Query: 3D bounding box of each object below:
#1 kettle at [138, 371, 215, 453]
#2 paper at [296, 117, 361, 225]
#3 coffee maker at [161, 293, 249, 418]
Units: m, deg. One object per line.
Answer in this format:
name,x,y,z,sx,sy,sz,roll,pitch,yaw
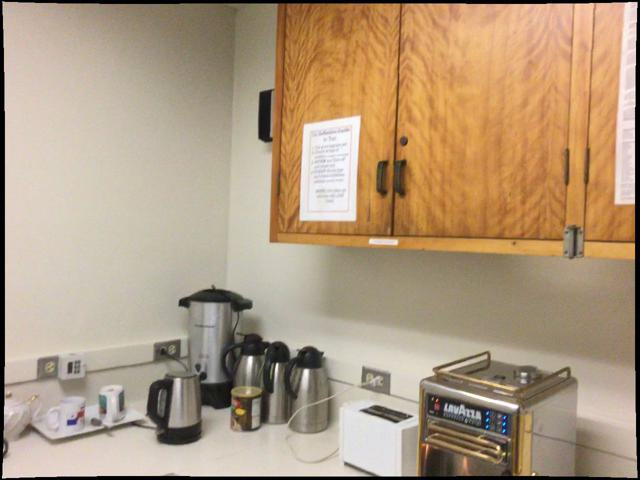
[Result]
kettle,-0.449,0.531,1.810,0.120,0.190,0.200,1,0,44
paper,0.020,-0.190,1.650,0.230,0.291,0.020,1,0,42
coffee maker,-0.439,0.421,2.190,0.300,0.401,0.190,1,0,44
